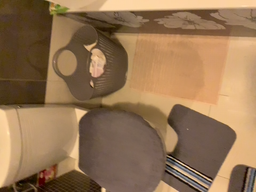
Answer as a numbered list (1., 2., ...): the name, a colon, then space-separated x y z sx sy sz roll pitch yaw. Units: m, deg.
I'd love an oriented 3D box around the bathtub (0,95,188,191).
1. bathtub: -0.140 0.260 1.110 0.670 0.790 0.410 9 97 28
